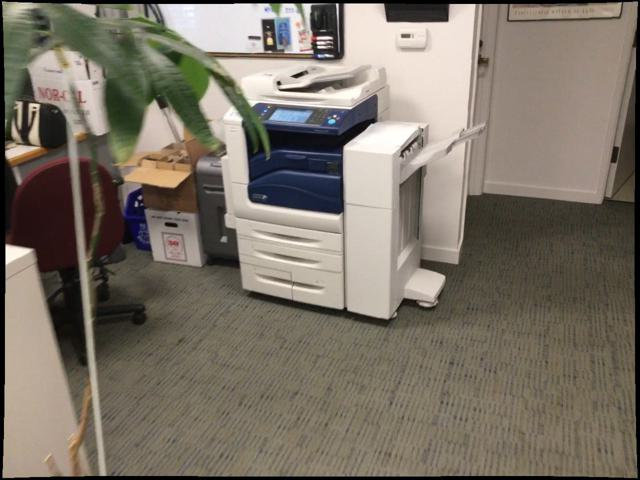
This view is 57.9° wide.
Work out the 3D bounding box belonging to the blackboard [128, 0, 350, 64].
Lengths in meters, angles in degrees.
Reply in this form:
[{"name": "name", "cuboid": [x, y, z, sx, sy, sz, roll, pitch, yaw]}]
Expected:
[{"name": "blackboard", "cuboid": [-0.470, -1.421, 3.000, 1.269, 0.931, 0.120, 8, 28, 21]}]
